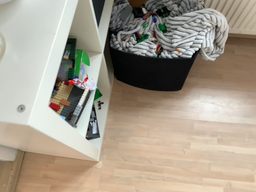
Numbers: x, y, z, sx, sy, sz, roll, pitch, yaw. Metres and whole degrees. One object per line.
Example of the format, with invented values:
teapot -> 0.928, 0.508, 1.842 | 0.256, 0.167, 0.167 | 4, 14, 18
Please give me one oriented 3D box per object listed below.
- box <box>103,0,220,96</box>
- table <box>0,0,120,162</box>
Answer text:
box -> 0.150, -0.290, 1.110 | 0.470, 0.380, 0.440 | 4, 69, 2
table -> -0.310, -0.220, 0.860 | 0.430, 0.800, 0.840 | 5, 69, 2
